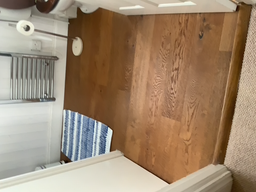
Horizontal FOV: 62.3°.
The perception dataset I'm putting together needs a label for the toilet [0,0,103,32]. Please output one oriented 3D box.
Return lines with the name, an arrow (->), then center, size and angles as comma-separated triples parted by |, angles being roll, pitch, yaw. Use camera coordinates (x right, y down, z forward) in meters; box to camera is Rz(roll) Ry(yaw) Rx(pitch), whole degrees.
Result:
toilet -> -0.710, -0.830, 1.610 | 0.660, 0.810, 0.520 | 17, 104, 46
